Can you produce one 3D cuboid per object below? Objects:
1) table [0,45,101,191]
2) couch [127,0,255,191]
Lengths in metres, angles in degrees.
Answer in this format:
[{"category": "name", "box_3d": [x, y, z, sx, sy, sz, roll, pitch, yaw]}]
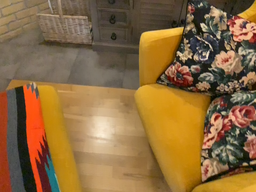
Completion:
[{"category": "table", "box_3d": [-0.550, 0.200, 1.100, 0.630, 0.470, 0.720, -14, 53, -14]}, {"category": "couch", "box_3d": [0.600, -0.140, 1.060, 0.990, 1.050, 0.850, -10, 52, -11]}]
